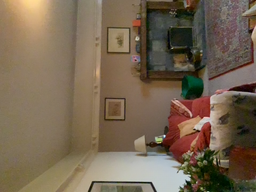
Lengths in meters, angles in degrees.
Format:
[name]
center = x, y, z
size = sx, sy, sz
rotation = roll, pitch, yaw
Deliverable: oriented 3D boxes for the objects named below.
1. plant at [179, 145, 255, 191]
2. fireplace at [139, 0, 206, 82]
[plant]
center = 0.640, 0.550, 1.420
size = 0.330, 0.500, 0.400
rotation = 114, 156, -83
[fireplace]
center = 0.860, -1.250, 4.450
size = 0.750, 1.180, 1.790
rotation = 111, 160, -82
